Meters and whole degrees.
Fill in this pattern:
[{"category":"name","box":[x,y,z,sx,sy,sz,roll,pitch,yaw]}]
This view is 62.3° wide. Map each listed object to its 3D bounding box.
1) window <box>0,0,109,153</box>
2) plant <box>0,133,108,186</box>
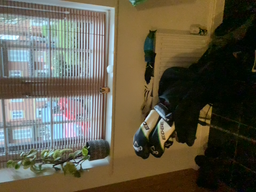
[{"category":"window","box":[-0.660,-0.120,1.480,0.100,1.050,1.000,-156,66,-64]},{"category":"plant","box":[-0.500,0.430,1.510,0.180,0.680,0.210,-157,67,-64]}]
